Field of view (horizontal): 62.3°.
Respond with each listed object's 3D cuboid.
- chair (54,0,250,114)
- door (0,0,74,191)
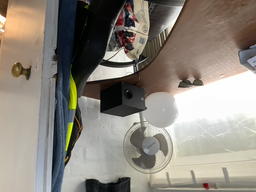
[{"bbox_3d":[0.010,-0.470,1.130,0.620,0.970,0.700,5,160,-28],"label":"chair"},{"bbox_3d":[-0.490,-0.160,0.970,0.090,1.680,0.820,12,156,-41],"label":"door"}]
